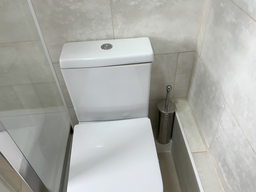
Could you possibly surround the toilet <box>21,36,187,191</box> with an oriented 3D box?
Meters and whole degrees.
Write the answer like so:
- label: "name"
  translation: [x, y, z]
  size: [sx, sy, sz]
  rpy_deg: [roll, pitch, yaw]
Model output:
- label: "toilet"
  translation: [-0.060, 0.230, 0.990]
  size: [0.400, 0.780, 0.590]
  rpy_deg: [-4, 43, -1]
